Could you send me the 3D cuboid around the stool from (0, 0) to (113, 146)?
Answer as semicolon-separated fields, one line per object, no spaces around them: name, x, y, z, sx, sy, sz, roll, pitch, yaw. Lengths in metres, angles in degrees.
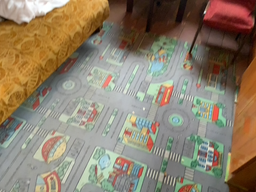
stool;-1.080;-0.310;1.570;1.000;0.470;2.200;24;55;13

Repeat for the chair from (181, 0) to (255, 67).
chair;0.870;-0.780;1.910;0.460;0.750;0.560;22;54;12
